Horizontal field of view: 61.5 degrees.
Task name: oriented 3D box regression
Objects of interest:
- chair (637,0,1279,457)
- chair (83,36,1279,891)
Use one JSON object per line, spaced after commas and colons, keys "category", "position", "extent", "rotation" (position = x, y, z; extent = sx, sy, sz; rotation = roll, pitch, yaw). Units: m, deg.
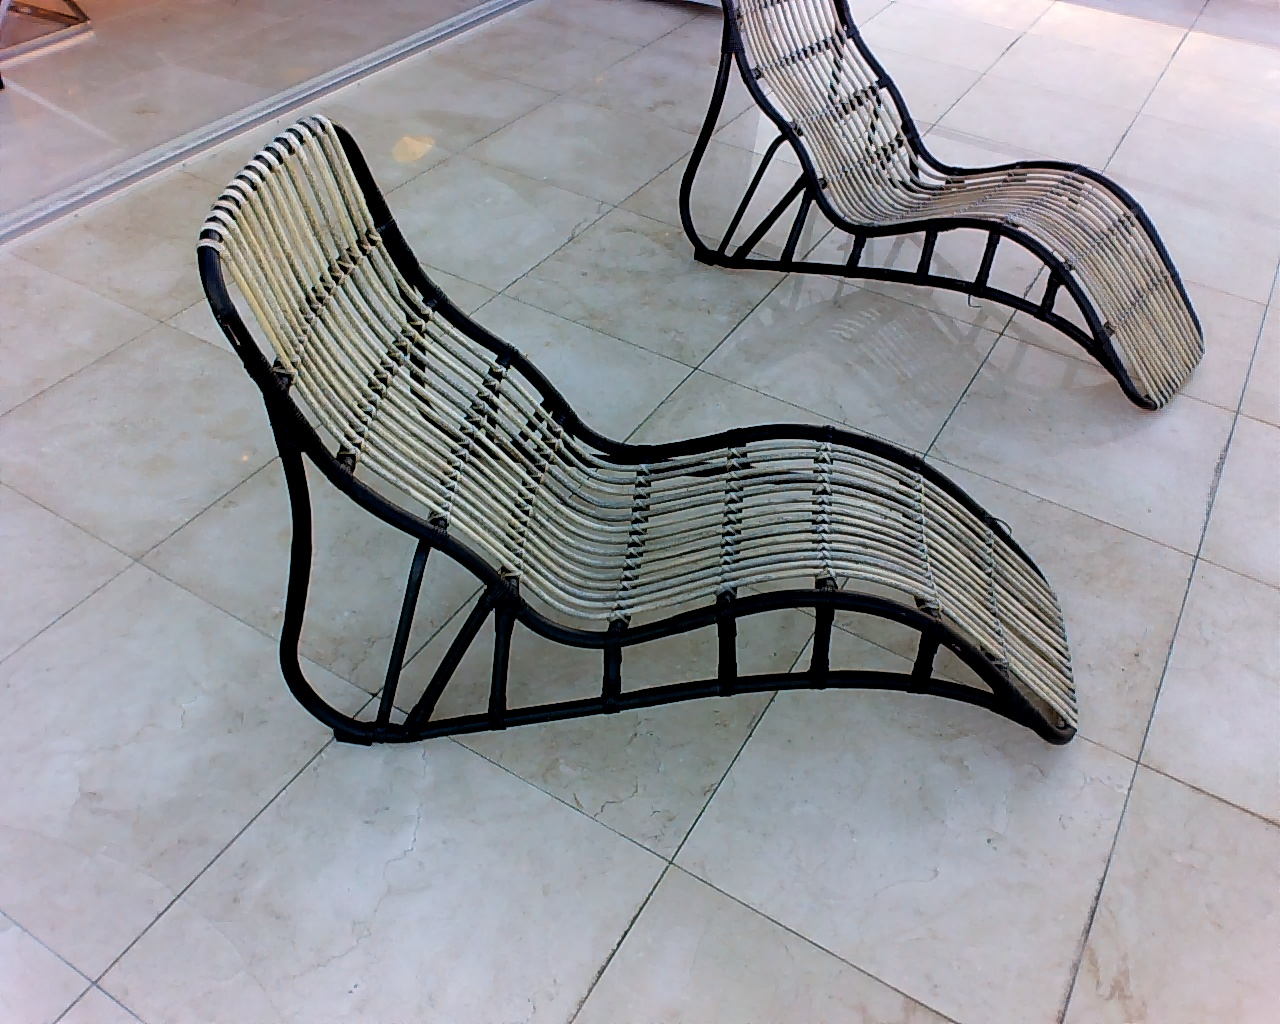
{"category": "chair", "position": [0.850, -0.990, 2.830], "extent": [1.530, 0.860, 0.810], "rotation": [30, 49, 27]}
{"category": "chair", "position": [0.160, -0.120, 1.820], "extent": [1.520, 0.920, 0.910], "rotation": [7, 42, 5]}
